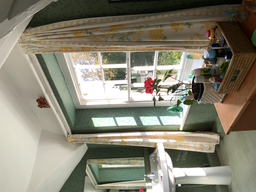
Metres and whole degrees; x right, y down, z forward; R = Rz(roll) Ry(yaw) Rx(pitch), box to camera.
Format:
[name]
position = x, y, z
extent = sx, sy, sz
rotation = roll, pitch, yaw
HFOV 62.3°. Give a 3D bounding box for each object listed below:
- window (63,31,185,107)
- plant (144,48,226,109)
[window]
position = -0.030, -0.260, 2.380
extent = 0.810, 1.130, 0.320
rotation = 88, 180, -52
[plant]
position = 0.380, -0.130, 1.560
extent = 0.220, 0.490, 0.380
rotation = 88, 180, -52
